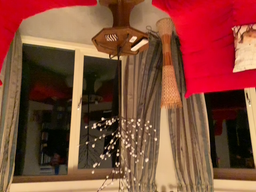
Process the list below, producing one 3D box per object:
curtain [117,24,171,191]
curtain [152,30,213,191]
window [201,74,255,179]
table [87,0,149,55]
[{"bbox_3d":[0.170,0.140,2.630,0.580,2.090,0.200,4,166,-16],"label":"curtain"},{"bbox_3d":[0.650,0.240,2.610,0.530,1.980,0.360,-8,165,29],"label":"curtain"},{"bbox_3d":[1.610,0.330,2.470,1.340,1.200,0.110,-8,165,28],"label":"window"},{"bbox_3d":[-0.060,-0.740,2.020,0.480,0.490,0.530,-2,167,8],"label":"table"}]
